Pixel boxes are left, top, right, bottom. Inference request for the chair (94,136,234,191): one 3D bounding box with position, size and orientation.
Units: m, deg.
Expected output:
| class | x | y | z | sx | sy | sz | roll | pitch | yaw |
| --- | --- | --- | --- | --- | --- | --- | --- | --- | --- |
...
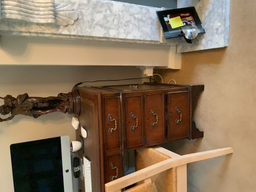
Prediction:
| class | x | y | z | sx | sy | sz | roll | pitch | yaw |
| --- | --- | --- | --- | --- | --- | --- | --- | --- | --- |
| chair | 0.220 | 0.540 | 1.320 | 0.420 | 0.740 | 0.400 | 0 | 94 | 63 |
